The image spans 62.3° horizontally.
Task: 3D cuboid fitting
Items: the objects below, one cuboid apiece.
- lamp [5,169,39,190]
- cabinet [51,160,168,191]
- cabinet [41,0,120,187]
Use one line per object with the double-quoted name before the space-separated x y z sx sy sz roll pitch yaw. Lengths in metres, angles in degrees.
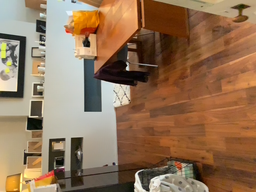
"lamp" -1.850 1.460 3.740 0.260 0.520 0.240 156 114 -65
"cabinet" -0.330 1.220 2.890 1.210 1.270 0.420 160 110 -66
"cabinet" -0.960 -0.680 4.530 0.320 1.470 4.740 158 113 -65
